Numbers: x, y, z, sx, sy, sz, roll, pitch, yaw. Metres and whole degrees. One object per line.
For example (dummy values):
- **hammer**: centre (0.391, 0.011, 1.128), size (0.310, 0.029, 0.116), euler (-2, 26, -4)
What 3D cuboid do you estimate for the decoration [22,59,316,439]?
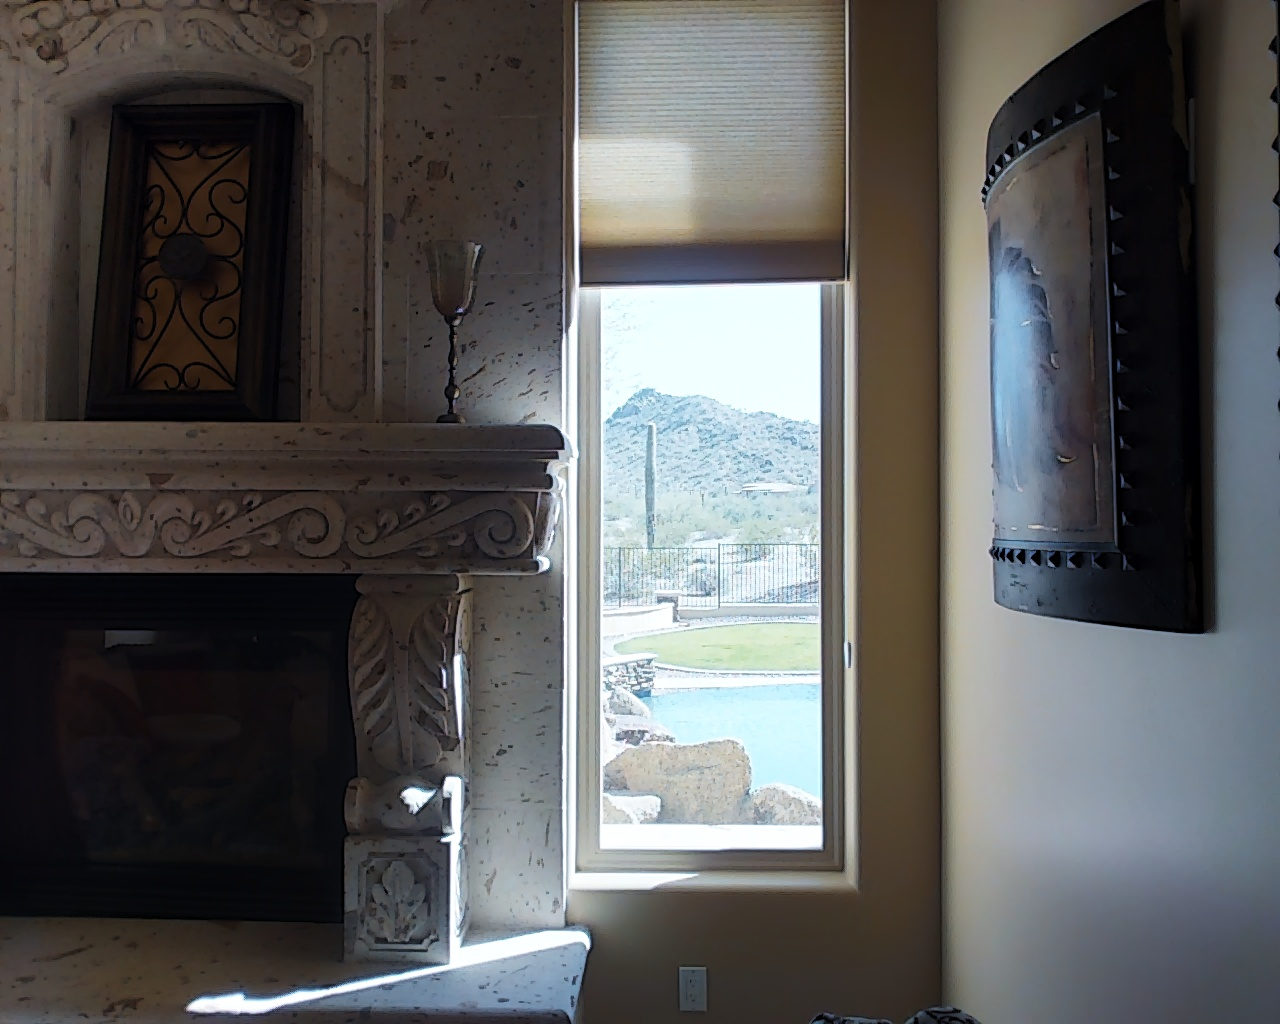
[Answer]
- **decoration**: centre (-1.240, -0.680, 2.850), size (0.640, 0.940, 0.280), euler (1, -1, 2)

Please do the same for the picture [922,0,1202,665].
- **picture**: centre (0.650, -0.240, 1.780), size (0.160, 0.880, 0.830), euler (1, -1, 2)
